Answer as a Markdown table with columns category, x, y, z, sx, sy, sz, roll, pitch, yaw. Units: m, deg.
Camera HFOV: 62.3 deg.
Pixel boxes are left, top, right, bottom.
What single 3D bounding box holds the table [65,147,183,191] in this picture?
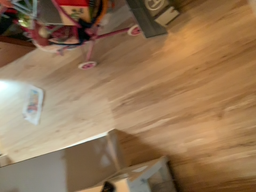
| category | x | y | z | sx | sy | sz | roll | pitch | yaw |
| --- | --- | --- | --- | --- | --- | --- | --- | --- | --- |
| table | 0.020 | 0.500 | 1.020 | 0.320 | 0.470 | 0.320 | -25 | 79 | 27 |
